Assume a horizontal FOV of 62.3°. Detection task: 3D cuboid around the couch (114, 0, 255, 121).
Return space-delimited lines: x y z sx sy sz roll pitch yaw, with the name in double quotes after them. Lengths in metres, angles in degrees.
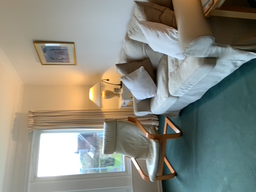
0.390 -0.400 2.290 1.690 0.810 0.890 117 151 -65 "couch"
